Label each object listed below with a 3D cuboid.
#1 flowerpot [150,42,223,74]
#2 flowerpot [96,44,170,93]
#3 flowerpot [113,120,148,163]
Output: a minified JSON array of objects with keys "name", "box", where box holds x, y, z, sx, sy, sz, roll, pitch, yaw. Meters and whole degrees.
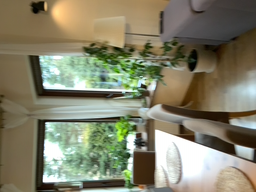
[{"name":"flowerpot","box":[0.710,-0.450,2.610,0.270,0.810,0.310,-170,82,-79]},{"name":"flowerpot","box":[0.030,-0.360,2.930,0.530,0.900,0.370,108,161,-55]},{"name":"flowerpot","box":[0.030,0.720,3.410,0.270,0.510,0.620,180,92,-79]}]
